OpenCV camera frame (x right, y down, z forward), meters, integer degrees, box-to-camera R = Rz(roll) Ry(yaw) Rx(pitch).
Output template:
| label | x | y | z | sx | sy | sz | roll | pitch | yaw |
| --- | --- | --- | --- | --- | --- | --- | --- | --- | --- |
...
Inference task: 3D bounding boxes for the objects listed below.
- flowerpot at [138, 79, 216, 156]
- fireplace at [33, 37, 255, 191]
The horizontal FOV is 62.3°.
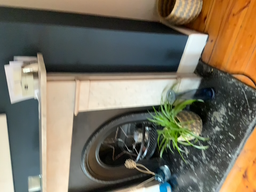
| label | x | y | z | sx | sy | sz | roll | pitch | yaw |
| --- | --- | --- | --- | --- | --- | --- | --- | --- | --- |
| flowerpot | 0.350 | 0.140 | 1.680 | 0.470 | 0.300 | 0.390 | 49 | 135 | 51 |
| fireplace | -0.050 | 0.500 | 1.620 | 0.880 | 1.140 | 1.590 | 49 | 135 | 51 |
